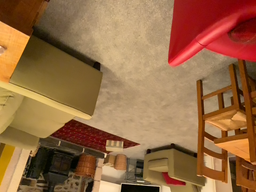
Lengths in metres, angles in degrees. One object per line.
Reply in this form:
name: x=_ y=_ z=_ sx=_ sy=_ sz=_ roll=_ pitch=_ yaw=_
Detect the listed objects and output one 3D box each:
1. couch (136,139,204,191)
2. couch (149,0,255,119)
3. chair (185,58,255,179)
couch: x=0.820 y=1.440 z=4.190 sx=0.970 sy=0.780 sz=0.810 roll=26 pitch=144 yaw=-30
couch: x=0.540 y=-0.430 z=0.970 sx=0.640 sy=0.770 sz=0.680 roll=13 pitch=149 yaw=-11
chair: x=0.870 y=0.220 z=1.930 sx=0.440 sy=0.900 sz=0.490 roll=24 pitch=146 yaw=-25
